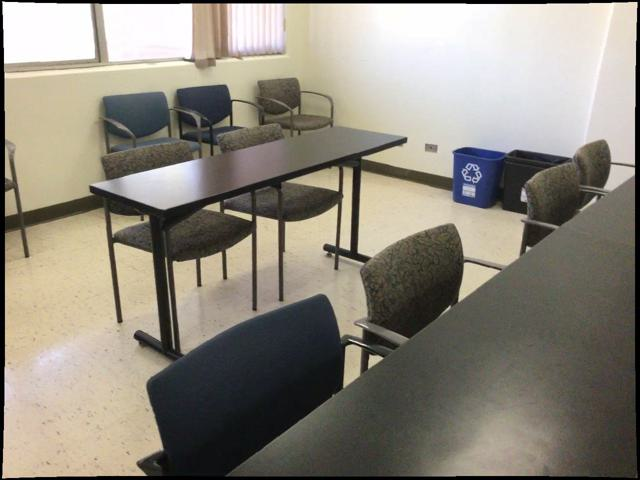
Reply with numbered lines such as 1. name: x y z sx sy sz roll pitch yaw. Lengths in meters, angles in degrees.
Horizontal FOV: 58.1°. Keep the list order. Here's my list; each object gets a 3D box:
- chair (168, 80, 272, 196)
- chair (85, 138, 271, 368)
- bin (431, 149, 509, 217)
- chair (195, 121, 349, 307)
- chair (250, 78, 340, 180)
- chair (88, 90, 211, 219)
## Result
1. chair: -0.748 -0.802 4.410 0.469 0.722 0.590 19 29 36
2. chair: -0.628 0.020 2.650 0.619 0.802 0.500 19 29 36
3. bin: 1.097 -0.431 4.230 0.429 0.361 0.300 19 29 36
4. chair: -0.249 -0.170 3.060 0.589 0.762 0.510 19 29 36
5. chair: -0.209 -0.962 4.890 0.529 0.712 0.520 19 29 36
6. chair: -1.137 -0.602 3.910 0.509 0.702 0.550 19 29 36
